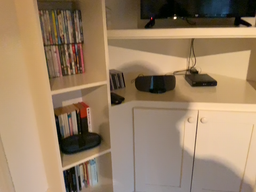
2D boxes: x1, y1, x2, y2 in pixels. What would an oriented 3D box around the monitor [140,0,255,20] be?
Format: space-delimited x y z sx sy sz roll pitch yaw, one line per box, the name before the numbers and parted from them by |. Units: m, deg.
monitor | 0.440 -0.720 1.350 0.720 0.430 0.060 1 20 6
